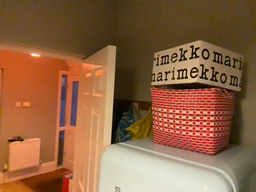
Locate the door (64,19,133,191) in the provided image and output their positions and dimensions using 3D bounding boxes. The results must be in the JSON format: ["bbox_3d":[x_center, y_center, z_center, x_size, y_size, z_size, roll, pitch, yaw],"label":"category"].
[{"bbox_3d":[-0.340,0.680,1.660,0.150,2.160,1.230,3,1,-22],"label":"door"}]
